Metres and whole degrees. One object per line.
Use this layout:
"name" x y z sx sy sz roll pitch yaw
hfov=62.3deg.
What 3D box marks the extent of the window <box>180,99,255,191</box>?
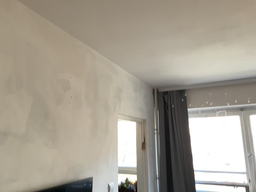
"window" 1.780 0.690 2.700 2.080 1.280 0.290 -5 -12 19
